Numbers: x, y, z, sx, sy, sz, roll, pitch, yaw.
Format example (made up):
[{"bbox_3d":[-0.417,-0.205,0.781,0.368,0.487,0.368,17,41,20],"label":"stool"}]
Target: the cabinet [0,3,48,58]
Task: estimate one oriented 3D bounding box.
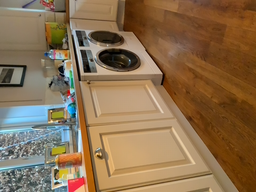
[{"bbox_3d":[-1.830,-1.030,3.330,0.410,1.010,0.750,-122,33,-58],"label":"cabinet"}]
